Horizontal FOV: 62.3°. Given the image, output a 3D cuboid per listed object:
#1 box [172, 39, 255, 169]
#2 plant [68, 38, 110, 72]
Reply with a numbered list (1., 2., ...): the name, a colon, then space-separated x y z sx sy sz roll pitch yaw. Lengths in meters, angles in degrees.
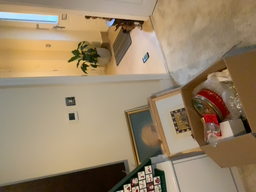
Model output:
1. box: 0.710 0.110 1.470 0.730 0.300 0.670 137 126 -60
2. plant: -0.750 -0.780 4.090 0.430 0.710 0.590 -162 70 -64
